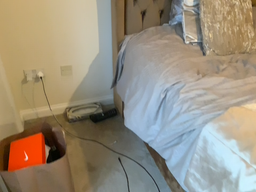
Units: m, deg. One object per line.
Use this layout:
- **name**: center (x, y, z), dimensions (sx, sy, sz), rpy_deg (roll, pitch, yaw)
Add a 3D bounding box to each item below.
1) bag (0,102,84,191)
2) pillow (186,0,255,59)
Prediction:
- **bag**: center (-0.470, 0.380, 1.150), dimensions (0.340, 0.450, 0.490), rpy_deg (-12, 35, -21)
- **pillow**: center (0.680, -0.530, 1.520), dimensions (0.500, 0.450, 0.180), rpy_deg (2, -3, -22)
